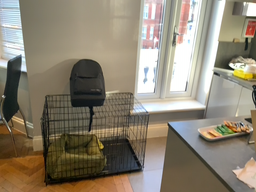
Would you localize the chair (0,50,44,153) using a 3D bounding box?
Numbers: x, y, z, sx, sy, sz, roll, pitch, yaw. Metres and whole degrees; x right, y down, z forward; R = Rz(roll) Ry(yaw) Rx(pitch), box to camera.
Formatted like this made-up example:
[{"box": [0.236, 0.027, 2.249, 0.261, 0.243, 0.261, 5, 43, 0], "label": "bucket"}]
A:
[{"box": [-1.290, 0.060, 2.230, 0.580, 1.000, 0.410, 2, 21, -5], "label": "chair"}]
